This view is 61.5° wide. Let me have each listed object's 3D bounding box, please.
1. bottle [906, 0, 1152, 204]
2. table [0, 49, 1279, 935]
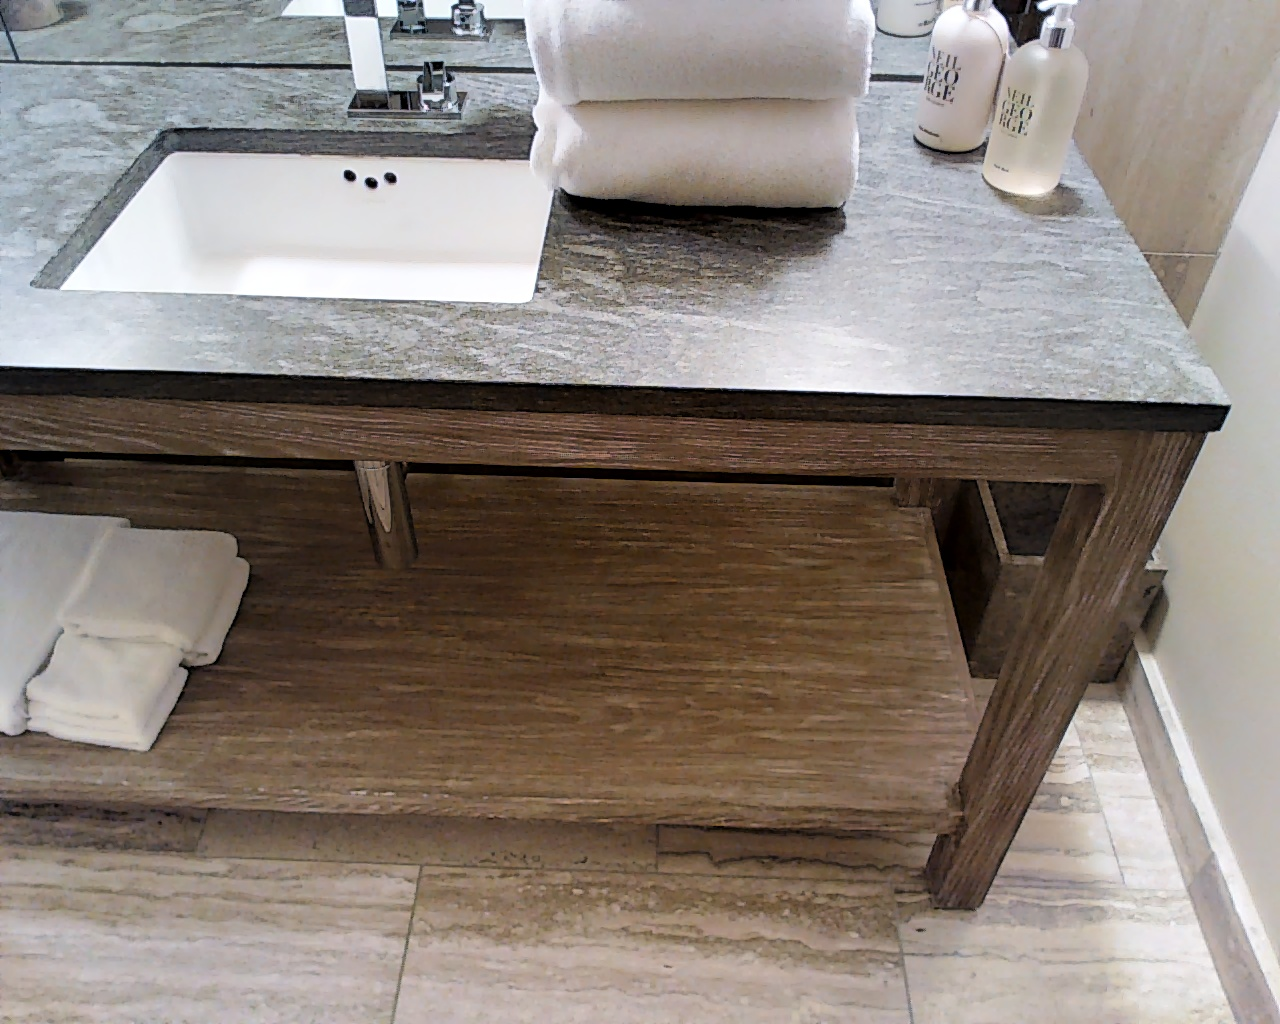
[{"bbox_3d":[0.370,-0.450,1.070,0.150,0.180,0.240,3,43,3],"label":"bottle"},{"bbox_3d":[-0.300,-0.020,1.310,1.590,0.810,0.630,2,43,2],"label":"table"}]
